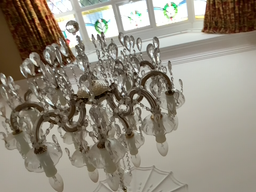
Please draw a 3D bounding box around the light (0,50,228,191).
[{"bbox_3d":[-0.080,0.280,0.880,0.670,0.630,0.750,-126,-160,-72],"label":"light"}]

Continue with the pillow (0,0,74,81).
[{"bbox_3d":[-1.400,-1.520,2.470,0.520,0.600,2.600,36,-35,58],"label":"pillow"}]
